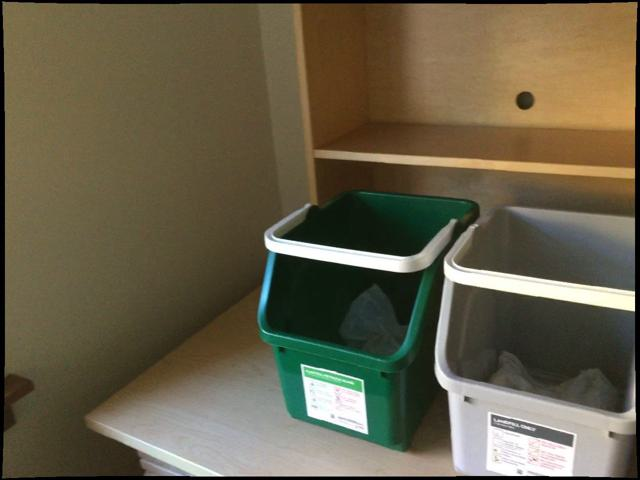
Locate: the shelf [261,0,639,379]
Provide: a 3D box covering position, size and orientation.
[{"bbox_3d":[0.359,-0.211,1.170,0.828,0.772,0.360,8,26,28],"label":"shelf"}]

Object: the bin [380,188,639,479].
[{"bbox_3d":[0.339,0.160,0.890,0.349,0.351,0.390,8,26,28],"label":"bin"}]

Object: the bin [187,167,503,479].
[{"bbox_3d":[0.080,0.110,1.060,0.389,0.351,0.440,8,26,28],"label":"bin"}]
